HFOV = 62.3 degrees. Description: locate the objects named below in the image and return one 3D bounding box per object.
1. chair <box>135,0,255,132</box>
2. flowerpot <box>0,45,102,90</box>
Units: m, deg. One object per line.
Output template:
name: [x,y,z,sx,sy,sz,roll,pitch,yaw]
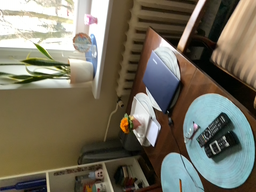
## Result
chair: [0.620,-0.310,0.940,0.580,0.920,0.610,-121,37,-48]
flowerpot: [-0.670,-0.240,1.780,0.380,0.810,0.170,-117,33,-44]
